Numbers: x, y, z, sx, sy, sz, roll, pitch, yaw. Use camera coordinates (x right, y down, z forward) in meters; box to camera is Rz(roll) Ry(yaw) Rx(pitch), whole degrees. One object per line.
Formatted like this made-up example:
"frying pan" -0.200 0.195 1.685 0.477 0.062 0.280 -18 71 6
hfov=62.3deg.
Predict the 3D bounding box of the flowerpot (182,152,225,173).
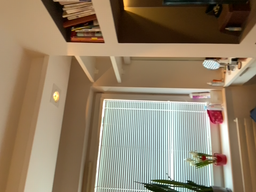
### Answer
"flowerpot" 0.760 0.680 2.170 0.130 0.390 0.180 80 -167 -70

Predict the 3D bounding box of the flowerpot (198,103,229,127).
"flowerpot" 0.920 0.210 2.300 0.140 0.260 0.220 80 -167 -70
